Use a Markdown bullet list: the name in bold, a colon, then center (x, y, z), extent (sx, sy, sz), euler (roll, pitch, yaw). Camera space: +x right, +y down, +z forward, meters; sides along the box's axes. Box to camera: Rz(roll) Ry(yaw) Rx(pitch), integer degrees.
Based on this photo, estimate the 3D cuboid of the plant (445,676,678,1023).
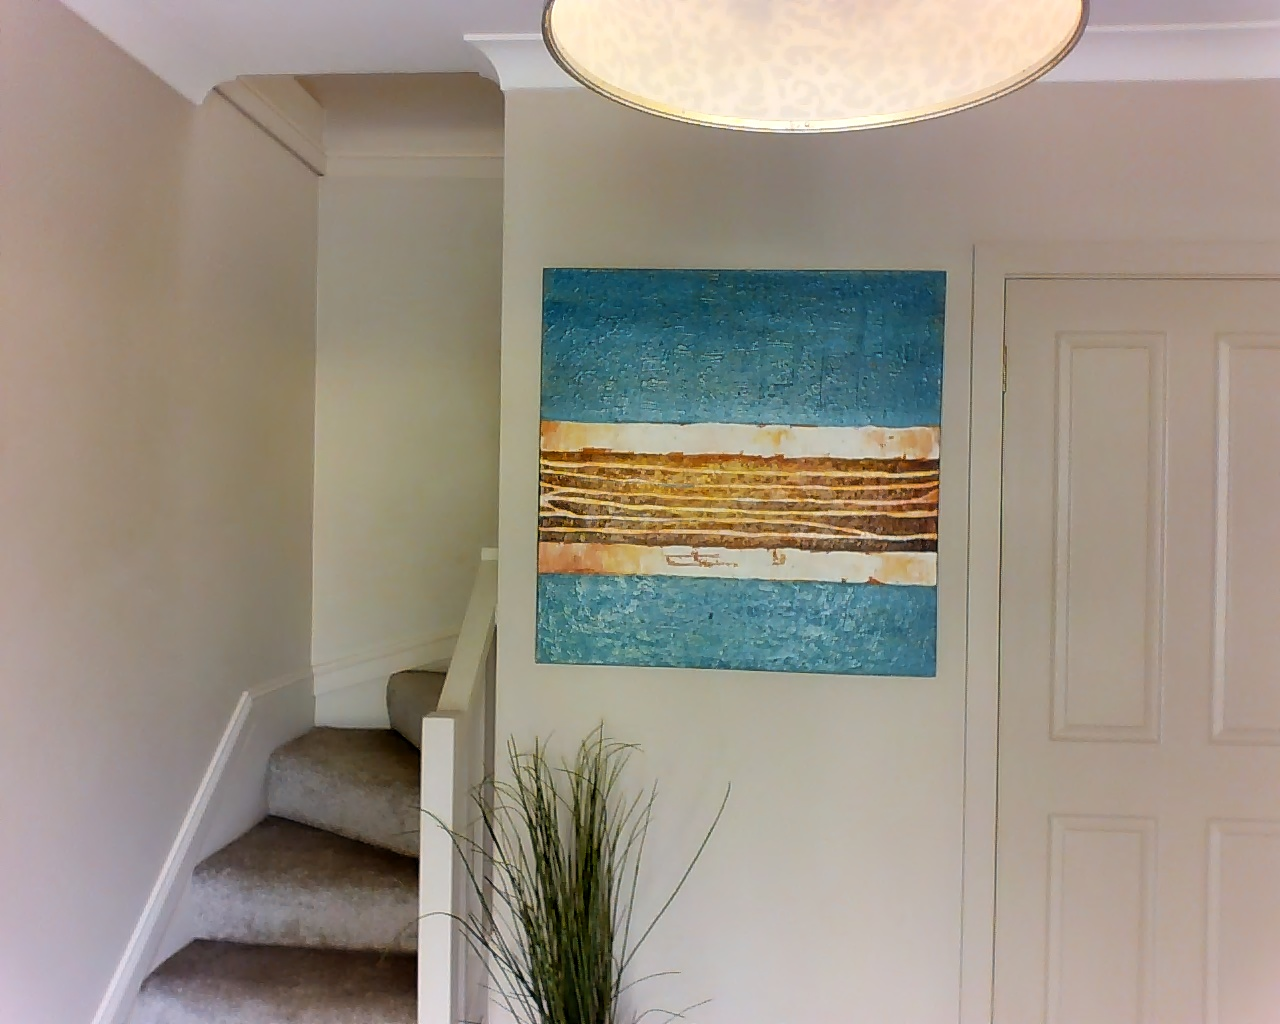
- **plant**: center (-0.150, 0.940, 2.250), extent (0.430, 1.120, 0.380), euler (1, 1, 4)
